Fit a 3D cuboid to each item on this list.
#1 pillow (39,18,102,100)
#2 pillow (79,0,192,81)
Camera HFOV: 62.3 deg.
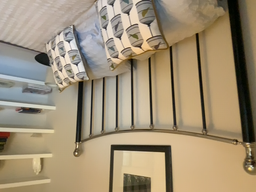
[{"bbox_3d":[-0.450,-0.260,1.600,0.230,0.410,0.410,12,142,-45],"label":"pillow"},{"bbox_3d":[0.000,-0.380,1.050,0.450,0.390,0.170,-40,146,27],"label":"pillow"}]
